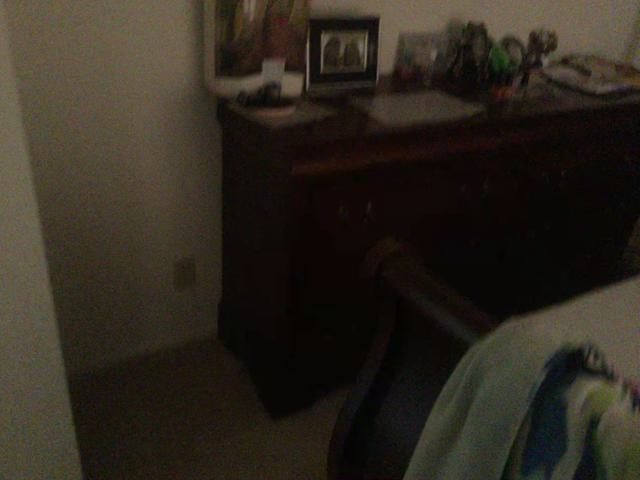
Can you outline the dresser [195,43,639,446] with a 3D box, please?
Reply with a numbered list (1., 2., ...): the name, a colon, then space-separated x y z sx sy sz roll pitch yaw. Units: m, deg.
1. dresser: 0.500 -0.110 1.940 1.690 0.930 0.510 -12 32 -27
